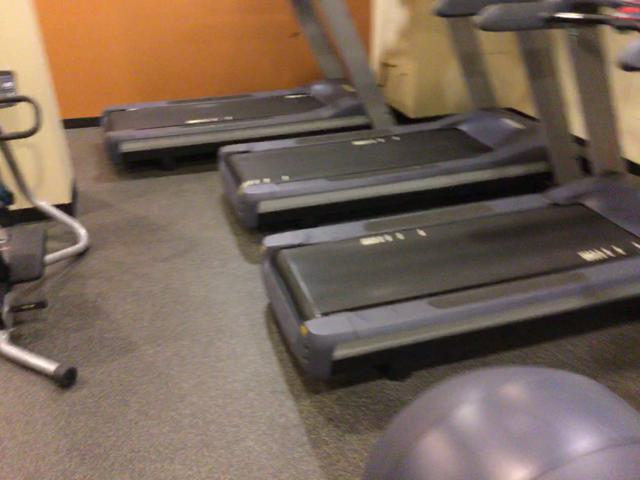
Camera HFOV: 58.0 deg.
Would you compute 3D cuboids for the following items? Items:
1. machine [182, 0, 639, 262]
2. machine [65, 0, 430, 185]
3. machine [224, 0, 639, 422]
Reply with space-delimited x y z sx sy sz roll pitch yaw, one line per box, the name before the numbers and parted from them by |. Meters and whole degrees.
machine | 0.430 -1.070 3.080 2.160 1.740 0.980 -11 26 -11
machine | -0.490 -1.570 4.030 2.260 1.840 1.010 -10 25 -14
machine | 0.770 -0.560 2.080 2.050 1.720 0.980 -10 27 -8
